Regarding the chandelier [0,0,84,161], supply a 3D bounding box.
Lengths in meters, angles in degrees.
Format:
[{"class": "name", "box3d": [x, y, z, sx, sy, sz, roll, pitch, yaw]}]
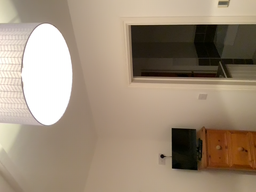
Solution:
[{"class": "chandelier", "box3d": [-0.520, -0.080, 0.940, 0.490, 0.440, 0.510, 85, -171, -46]}]

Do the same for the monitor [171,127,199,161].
[{"class": "monitor", "box3d": [0.720, 0.610, 2.700, 0.040, 0.300, 0.420, 57, -149, -67]}]
